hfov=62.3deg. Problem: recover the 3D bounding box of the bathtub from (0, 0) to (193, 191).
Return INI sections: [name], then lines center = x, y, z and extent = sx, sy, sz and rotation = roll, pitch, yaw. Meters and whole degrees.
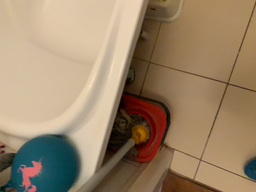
[bathtub]
center = -0.130, -0.540, 0.720
extent = 0.710, 0.560, 1.420
rotation = 21, 101, 18
